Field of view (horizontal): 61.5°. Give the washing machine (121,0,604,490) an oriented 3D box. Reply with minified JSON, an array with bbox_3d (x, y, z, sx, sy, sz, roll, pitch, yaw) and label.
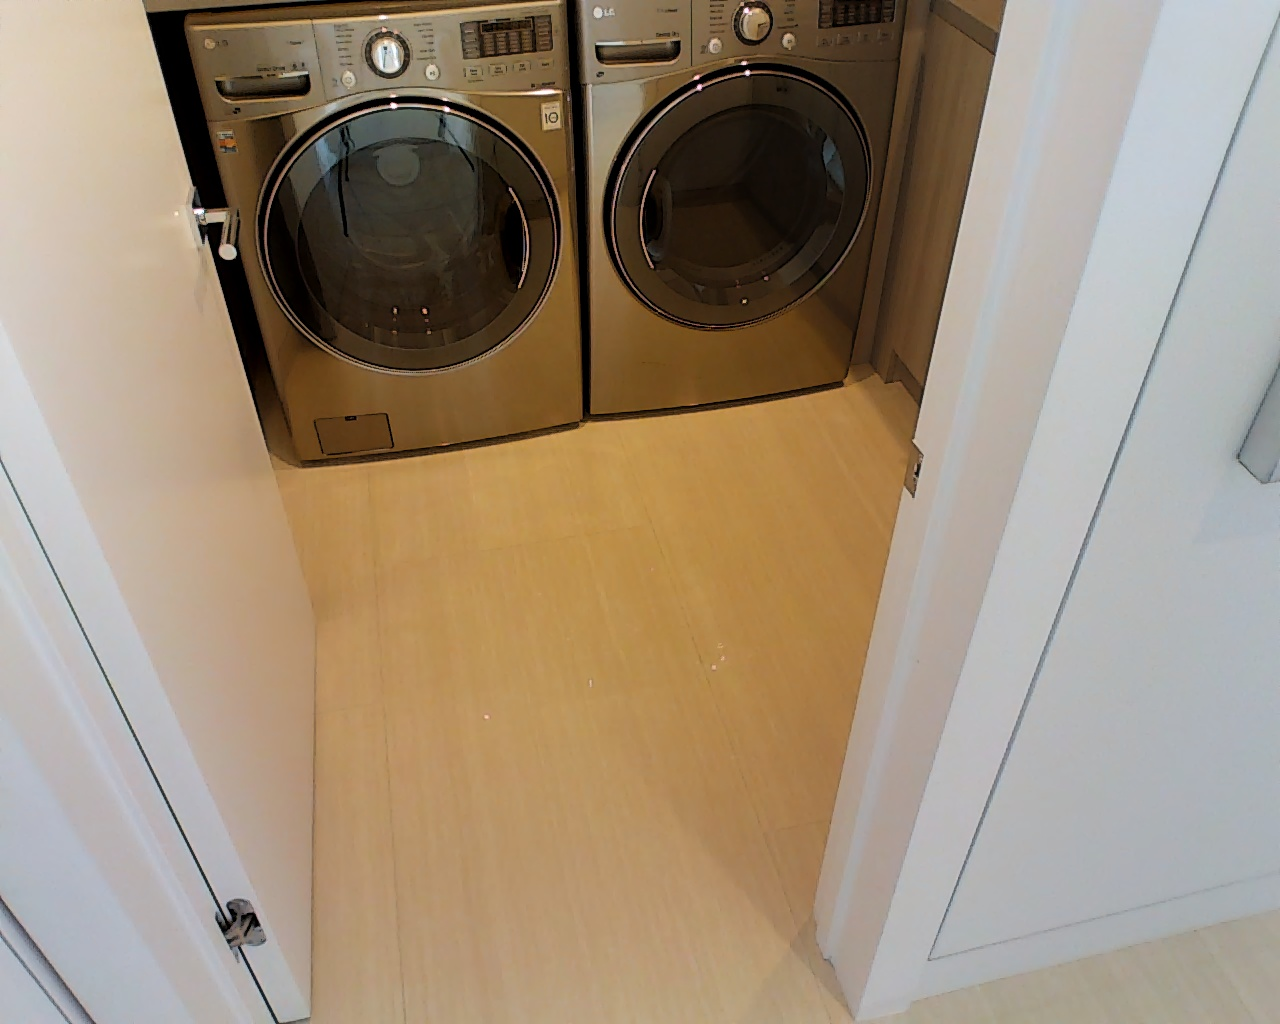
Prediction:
[{"bbox_3d":[-0.520,-0.610,2.340,0.810,1.010,0.380,-8,43,-10],"label":"washing machine"}]

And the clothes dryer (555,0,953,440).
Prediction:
[{"bbox_3d":[0.210,-0.720,2.460,0.720,1.000,0.370,-8,43,-10],"label":"clothes dryer"}]
